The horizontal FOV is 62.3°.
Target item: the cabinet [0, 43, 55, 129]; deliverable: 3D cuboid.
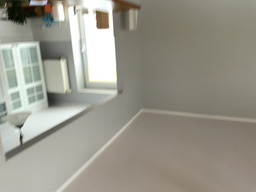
[{"bbox_3d":[-1.890,-0.250,3.590,0.450,1.210,1.130,4,-163,22],"label":"cabinet"}]
